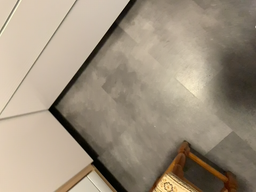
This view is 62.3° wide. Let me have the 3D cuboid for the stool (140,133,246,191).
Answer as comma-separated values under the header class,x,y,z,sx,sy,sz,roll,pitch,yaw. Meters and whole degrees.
class,x,y,z,sx,sy,sz,roll,pitch,yaw
stool,0.220,0.420,0.820,0.300,0.460,0.340,35,104,13
